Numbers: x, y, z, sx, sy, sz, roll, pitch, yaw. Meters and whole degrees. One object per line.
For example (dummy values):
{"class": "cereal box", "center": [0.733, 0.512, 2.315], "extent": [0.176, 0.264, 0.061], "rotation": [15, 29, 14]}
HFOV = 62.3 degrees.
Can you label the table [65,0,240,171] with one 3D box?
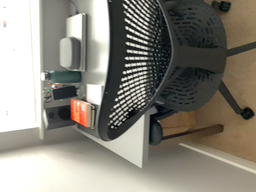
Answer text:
{"class": "table", "center": [0.110, -0.500, 1.300], "extent": [0.780, 0.720, 1.500], "rotation": [11, 102, 52]}
